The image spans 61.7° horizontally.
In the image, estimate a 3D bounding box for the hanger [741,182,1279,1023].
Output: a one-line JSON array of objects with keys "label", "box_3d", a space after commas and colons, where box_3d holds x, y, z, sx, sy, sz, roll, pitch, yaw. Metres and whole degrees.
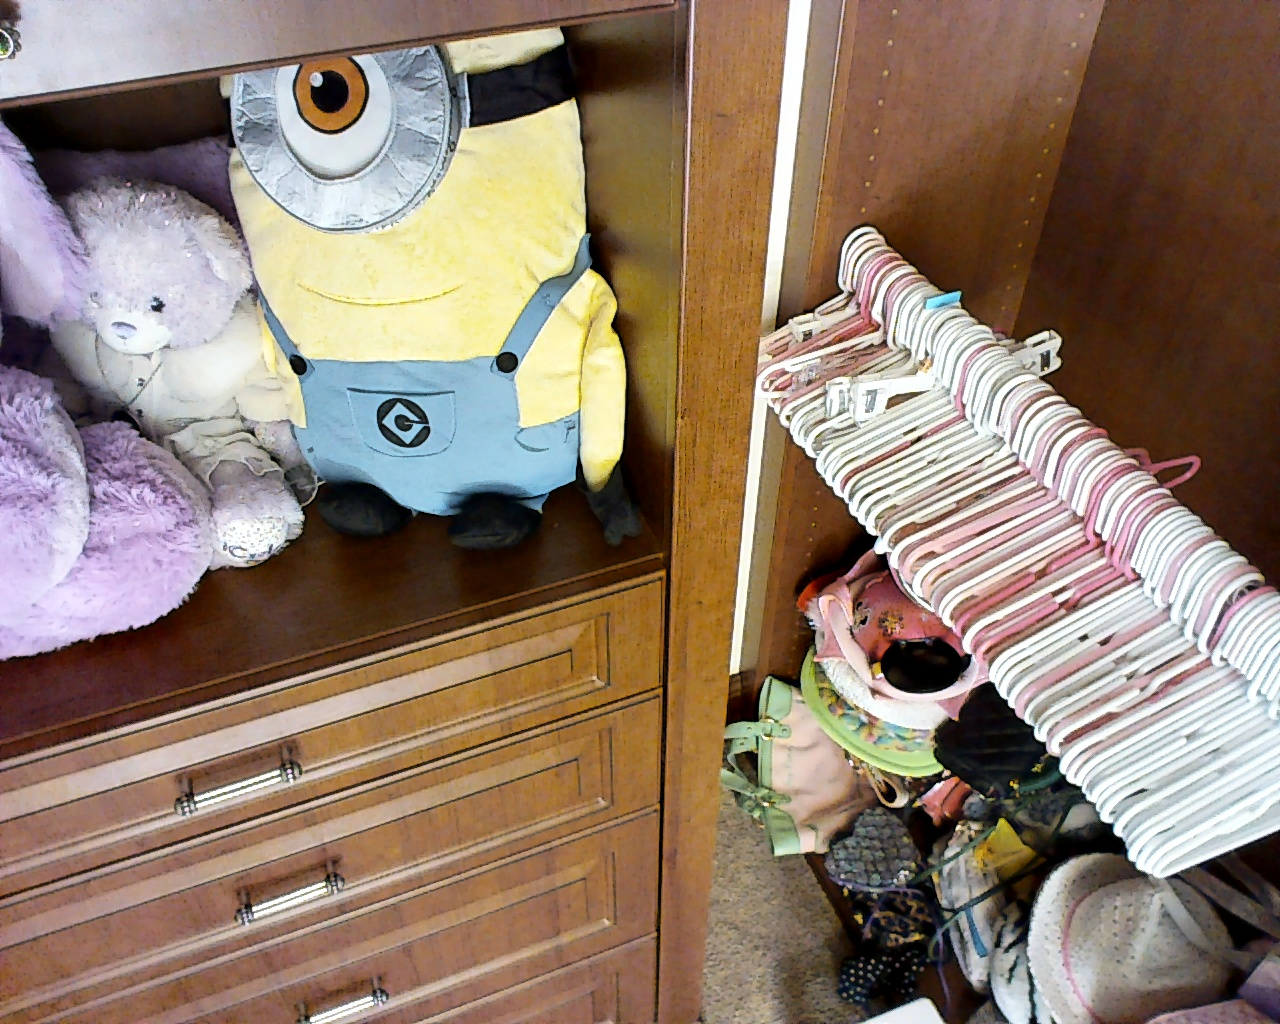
[{"label": "hanger", "box_3d": [0.480, 0.050, 1.180, 0.370, 0.440, 0.840, -15, 45, -17]}]

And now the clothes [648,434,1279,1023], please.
[{"label": "clothes", "box_3d": [0.470, 0.510, 1.380, 0.530, 0.590, 1.100, -15, 45, -17]}]
